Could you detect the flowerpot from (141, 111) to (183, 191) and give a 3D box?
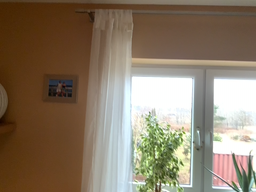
[{"bbox_3d":[0.260,0.490,1.690,0.280,0.730,0.280,2,-4,4],"label":"flowerpot"}]
